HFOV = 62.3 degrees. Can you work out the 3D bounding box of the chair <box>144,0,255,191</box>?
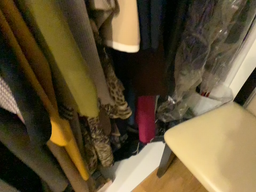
[{"bbox_3d":[0.470,0.130,0.850,0.590,1.050,0.460,-34,59,-23],"label":"chair"}]
